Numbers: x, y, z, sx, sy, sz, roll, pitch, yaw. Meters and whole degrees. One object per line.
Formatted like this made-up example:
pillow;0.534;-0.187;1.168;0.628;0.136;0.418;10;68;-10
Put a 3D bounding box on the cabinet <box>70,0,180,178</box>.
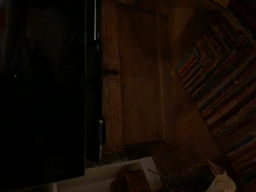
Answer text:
cabinet;-0.050;-0.030;1.400;0.510;0.490;0.910;-11;79;56
